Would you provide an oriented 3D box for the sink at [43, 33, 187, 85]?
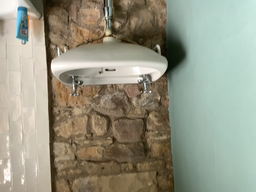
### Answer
[{"bbox_3d":[-0.070,-0.180,1.160,0.640,0.200,0.410,-2,180,-7],"label":"sink"}]
